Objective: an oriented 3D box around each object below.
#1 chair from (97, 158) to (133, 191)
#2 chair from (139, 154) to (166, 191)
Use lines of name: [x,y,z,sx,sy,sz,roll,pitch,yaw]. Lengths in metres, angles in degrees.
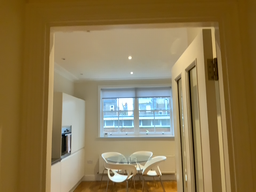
chair: [-0.270,1.710,4.320,0.480,0.750,0.550,-7,-9,41]
chair: [0.530,1.730,4.730,0.540,0.780,0.500,-1,-7,1]
